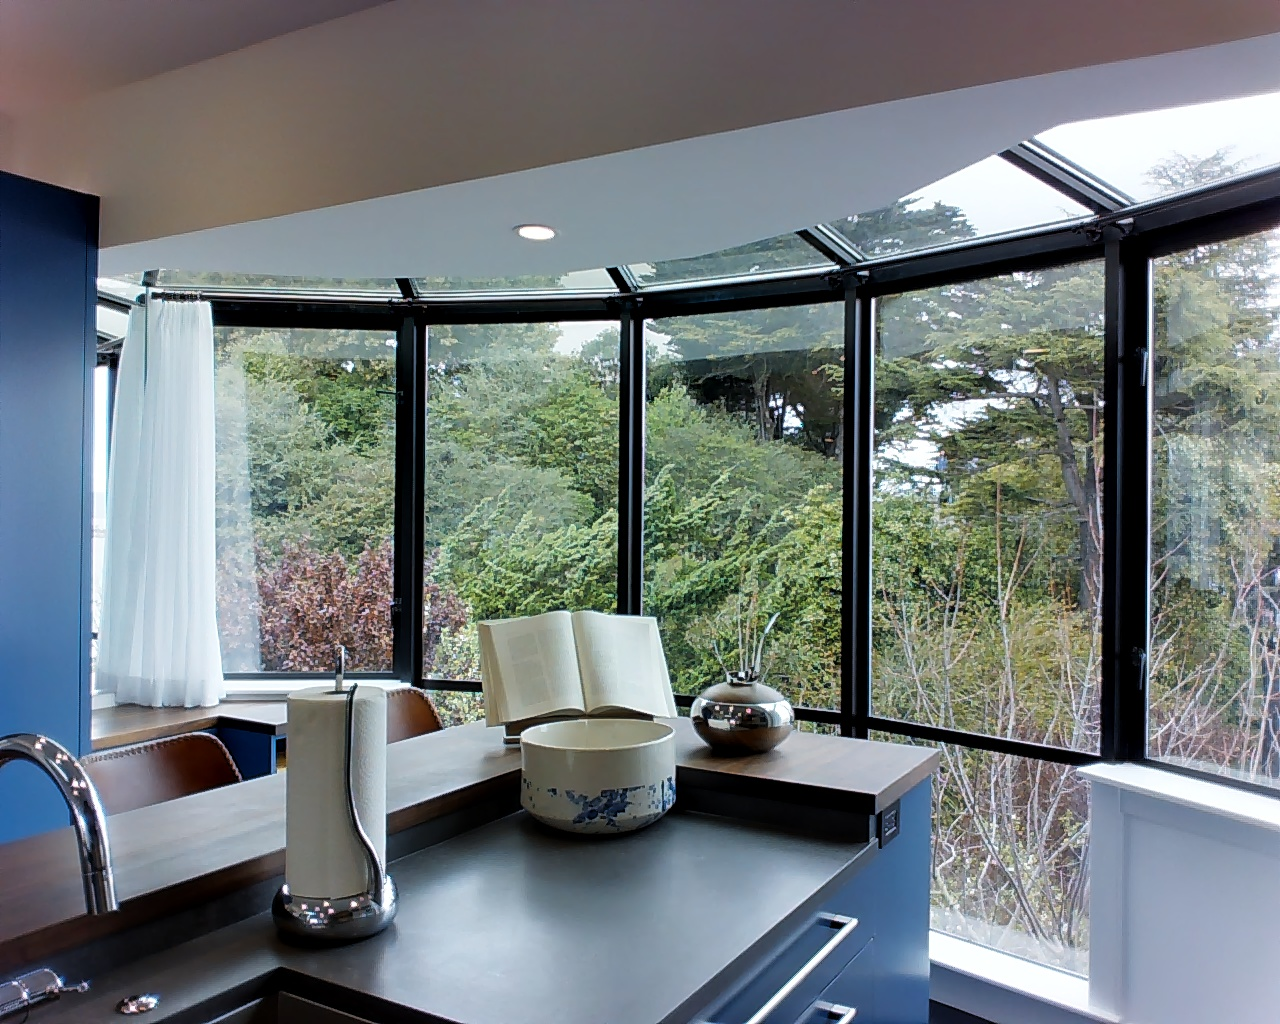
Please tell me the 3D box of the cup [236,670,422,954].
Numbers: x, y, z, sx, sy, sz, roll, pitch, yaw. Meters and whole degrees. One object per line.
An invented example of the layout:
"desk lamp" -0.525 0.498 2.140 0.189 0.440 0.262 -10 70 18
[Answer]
"cup" -0.460 0.430 1.600 0.170 0.350 0.200 1 0 32

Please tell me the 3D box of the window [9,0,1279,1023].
"window" -0.040 0.210 3.450 4.390 2.620 1.440 1 0 30
